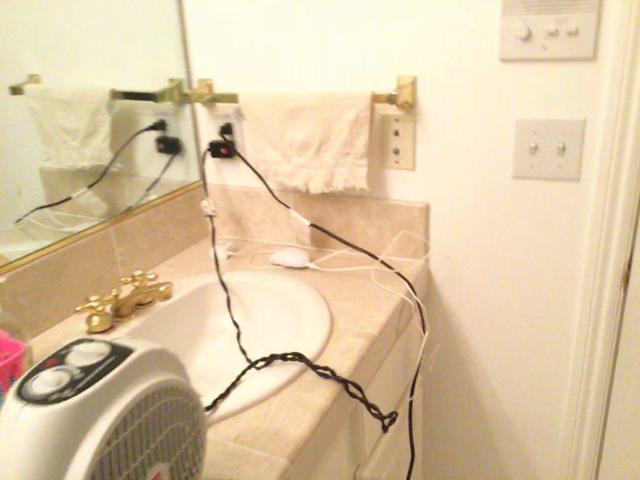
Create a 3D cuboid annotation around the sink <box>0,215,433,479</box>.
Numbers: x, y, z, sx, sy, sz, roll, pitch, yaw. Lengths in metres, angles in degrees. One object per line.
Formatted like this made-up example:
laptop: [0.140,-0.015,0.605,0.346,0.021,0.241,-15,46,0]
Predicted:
sink: [-0.140,0.150,1.040,0.530,0.220,0.580,3,20,27]
